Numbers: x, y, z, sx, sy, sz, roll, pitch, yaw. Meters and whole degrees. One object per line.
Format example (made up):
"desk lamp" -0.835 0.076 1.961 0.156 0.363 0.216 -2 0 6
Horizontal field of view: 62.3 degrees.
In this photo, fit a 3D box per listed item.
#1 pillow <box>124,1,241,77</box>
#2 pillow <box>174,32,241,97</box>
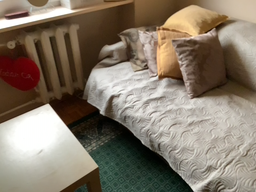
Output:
"pillow" 0.420 -0.490 1.670 0.810 0.310 0.390 -22 42 -26
"pillow" 0.510 -0.210 1.390 0.350 0.300 0.150 -26 54 -29
